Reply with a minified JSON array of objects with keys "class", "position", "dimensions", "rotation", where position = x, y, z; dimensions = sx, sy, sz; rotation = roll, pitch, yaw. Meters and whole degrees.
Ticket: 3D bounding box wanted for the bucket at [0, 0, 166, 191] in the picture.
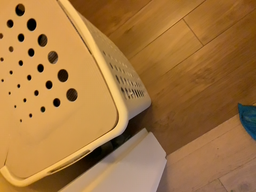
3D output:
[{"class":"bucket","position":[-0.160,-0.050,0.730],"dimensions":[0.320,0.580,0.480],"rotation":[-33,82,14]}]
